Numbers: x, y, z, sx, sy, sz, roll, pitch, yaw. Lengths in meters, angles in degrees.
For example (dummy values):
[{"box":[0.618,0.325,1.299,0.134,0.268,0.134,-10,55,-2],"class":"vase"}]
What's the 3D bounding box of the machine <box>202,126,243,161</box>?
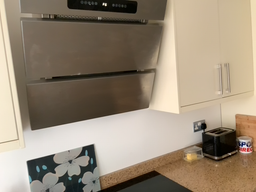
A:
[{"box":[0.800,0.390,1.800,0.270,0.200,0.190,-8,6,-29],"class":"machine"}]
